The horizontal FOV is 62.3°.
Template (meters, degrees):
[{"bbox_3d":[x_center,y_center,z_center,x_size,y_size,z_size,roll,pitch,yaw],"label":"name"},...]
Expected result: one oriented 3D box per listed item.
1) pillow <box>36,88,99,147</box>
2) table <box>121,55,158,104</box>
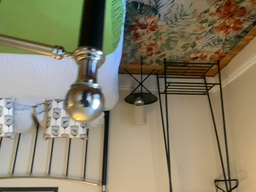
[{"bbox_3d":[-0.580,0.200,2.050,0.450,0.390,0.170,-23,165,-21],"label":"pillow"},{"bbox_3d":[0.120,-0.180,2.530,0.380,0.440,0.390,2,160,-6],"label":"table"}]
